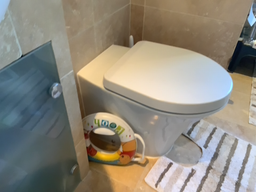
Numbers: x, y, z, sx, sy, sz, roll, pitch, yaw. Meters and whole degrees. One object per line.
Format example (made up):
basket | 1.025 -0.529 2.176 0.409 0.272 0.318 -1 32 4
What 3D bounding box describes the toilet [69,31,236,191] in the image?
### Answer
toilet | 0.110 0.040 1.000 0.560 0.450 0.400 20 44 20
